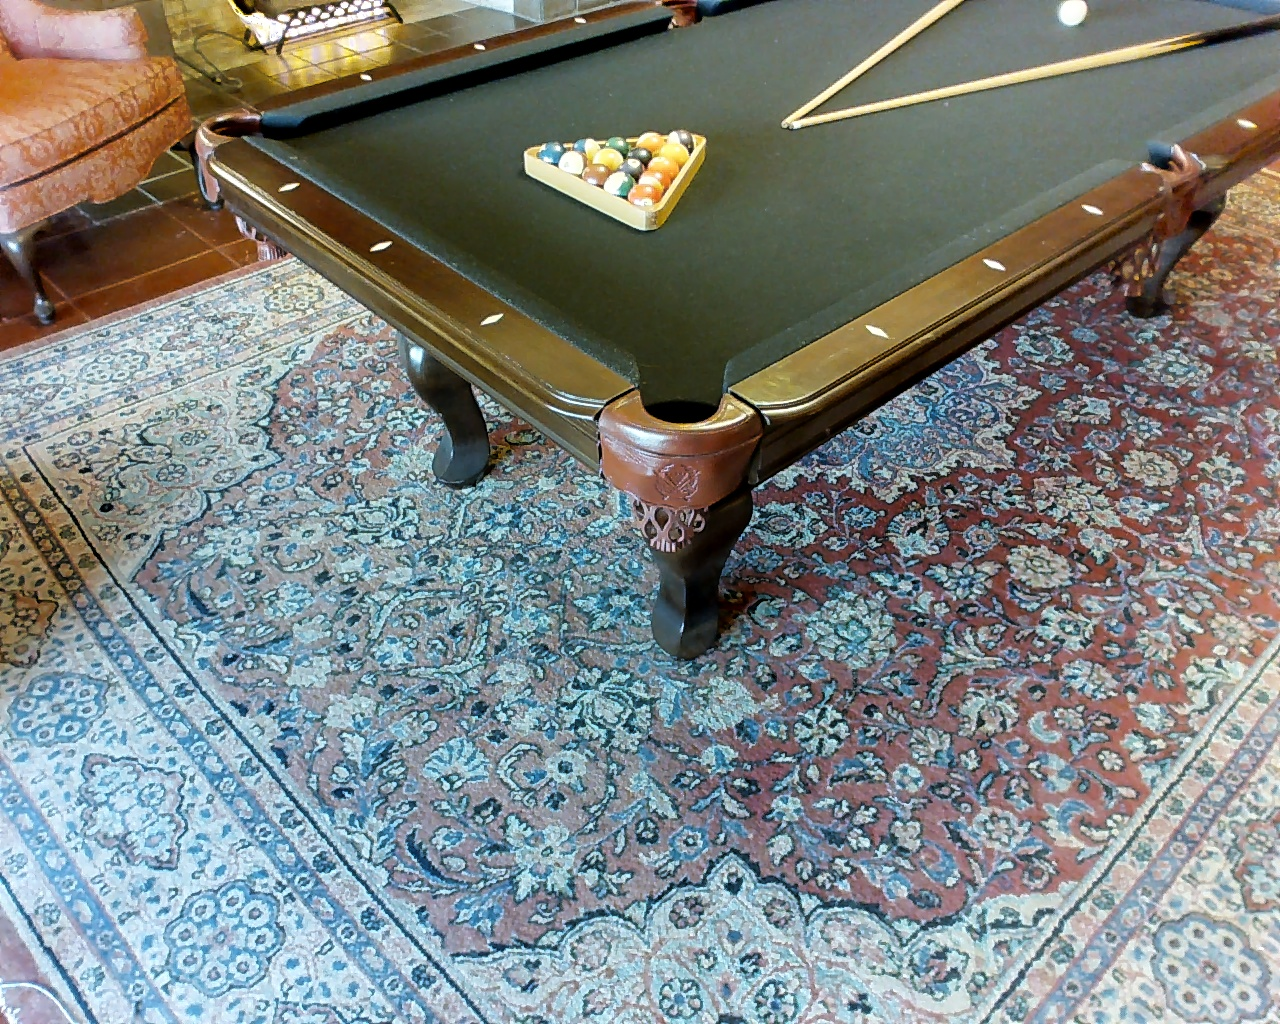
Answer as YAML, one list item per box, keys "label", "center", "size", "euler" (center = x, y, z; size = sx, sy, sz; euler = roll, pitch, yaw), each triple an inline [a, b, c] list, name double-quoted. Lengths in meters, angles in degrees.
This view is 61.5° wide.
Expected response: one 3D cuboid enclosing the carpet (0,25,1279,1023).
- label: "carpet"
  center: [0.600, -0.360, 2.760]
  size: [4.370, 0.050, 3.300]
  euler: [-33, 51, -32]
